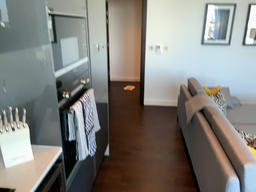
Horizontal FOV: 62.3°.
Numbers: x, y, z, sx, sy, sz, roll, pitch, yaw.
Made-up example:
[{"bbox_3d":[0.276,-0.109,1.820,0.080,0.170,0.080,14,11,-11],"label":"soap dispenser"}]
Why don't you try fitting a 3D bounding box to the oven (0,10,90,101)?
[{"bbox_3d":[-0.660,-0.300,1.390,0.640,0.450,0.650,2,19,5],"label":"oven"}]
